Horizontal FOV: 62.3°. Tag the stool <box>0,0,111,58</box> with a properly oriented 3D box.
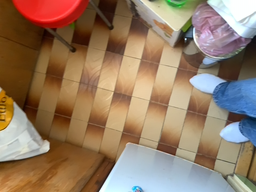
[{"bbox_3d":[-0.300,-0.390,0.950,0.310,0.400,0.310,13,91,6],"label":"stool"}]
